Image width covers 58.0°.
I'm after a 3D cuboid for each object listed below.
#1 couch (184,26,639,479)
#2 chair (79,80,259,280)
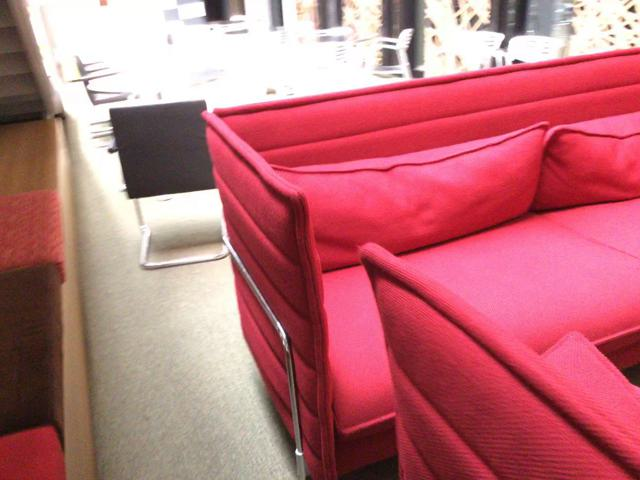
[{"bbox_3d":[0.930,-0.150,1.900,2.450,0.880,0.930,-14,25,-16],"label":"couch"},{"bbox_3d":[-0.690,-0.300,2.800,0.640,0.790,0.390,-10,24,-7],"label":"chair"}]
